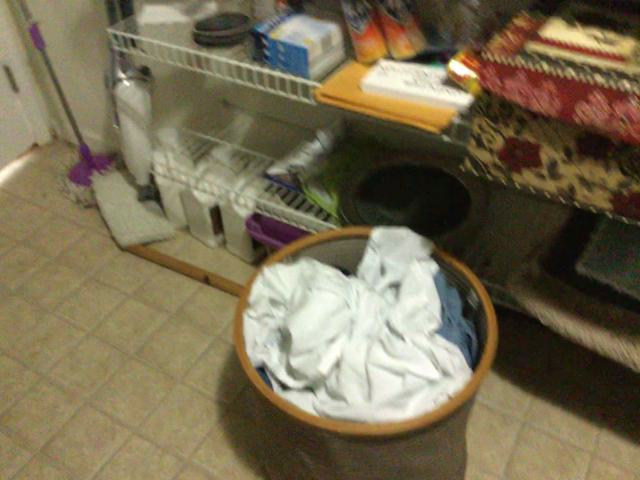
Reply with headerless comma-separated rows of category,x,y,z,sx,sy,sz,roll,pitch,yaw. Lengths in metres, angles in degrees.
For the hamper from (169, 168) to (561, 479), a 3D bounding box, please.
hamper,0.100,0.260,1.140,0.490,0.510,0.480,21,47,23
